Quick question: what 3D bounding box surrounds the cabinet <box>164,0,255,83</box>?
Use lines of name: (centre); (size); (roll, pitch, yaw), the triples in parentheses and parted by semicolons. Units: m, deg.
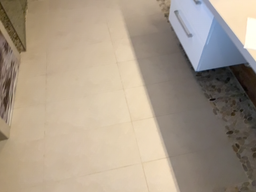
cabinet: (0.580, -0.520, 1.470); (0.450, 0.540, 0.580); (-9, 54, -6)
